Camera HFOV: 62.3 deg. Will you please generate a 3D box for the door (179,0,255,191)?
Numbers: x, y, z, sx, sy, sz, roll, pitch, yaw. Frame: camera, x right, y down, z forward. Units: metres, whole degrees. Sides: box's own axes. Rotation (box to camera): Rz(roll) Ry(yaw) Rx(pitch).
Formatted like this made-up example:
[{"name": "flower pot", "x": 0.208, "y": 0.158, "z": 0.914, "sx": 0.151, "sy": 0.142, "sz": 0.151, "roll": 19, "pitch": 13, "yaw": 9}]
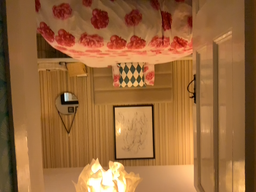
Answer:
[{"name": "door", "x": 0.430, "y": -0.180, "z": 1.190, "sx": 0.130, "sy": 1.890, "sz": 0.780, "roll": -1, "pitch": -177, "yaw": 3}]
